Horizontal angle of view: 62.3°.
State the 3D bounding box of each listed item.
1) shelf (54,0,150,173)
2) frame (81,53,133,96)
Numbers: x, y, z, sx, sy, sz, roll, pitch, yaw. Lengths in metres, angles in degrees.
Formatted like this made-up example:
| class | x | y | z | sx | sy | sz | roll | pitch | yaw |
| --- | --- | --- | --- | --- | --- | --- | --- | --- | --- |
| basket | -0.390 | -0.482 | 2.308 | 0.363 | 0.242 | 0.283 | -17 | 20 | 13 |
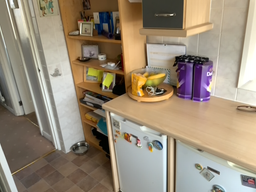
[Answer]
| class | x | y | z | sx | sy | sz | roll | pitch | yaw |
| --- | --- | --- | --- | --- | --- | --- | --- | --- | --- |
| shelf | -0.240 | -0.300 | 2.080 | 0.850 | 2.010 | 0.310 | 18 | 32 | 39 |
| frame | -0.220 | -0.240 | 2.180 | 0.270 | 0.280 | 0.490 | -23 | 31 | -36 |
